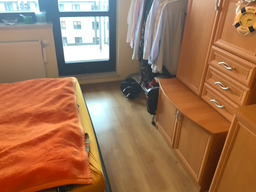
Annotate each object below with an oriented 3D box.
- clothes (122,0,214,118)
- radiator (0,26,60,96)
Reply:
[{"bbox_3d":[0.350,-0.620,2.590,0.490,1.300,1.120,-8,31,-17],"label":"clothes"},{"bbox_3d":[-1.370,-0.410,2.560,0.950,0.770,0.160,-9,32,-19],"label":"radiator"}]
